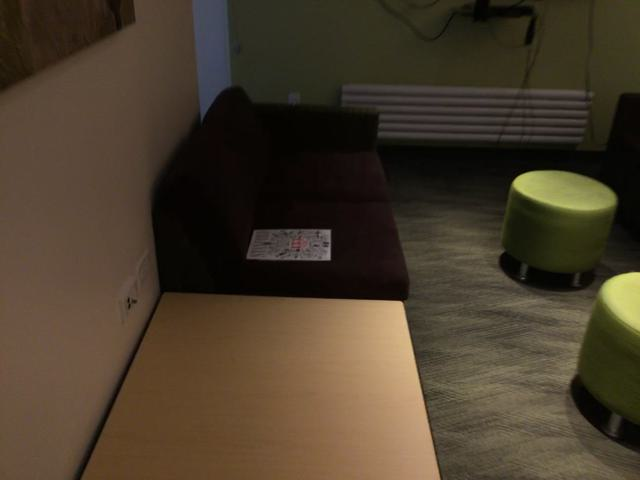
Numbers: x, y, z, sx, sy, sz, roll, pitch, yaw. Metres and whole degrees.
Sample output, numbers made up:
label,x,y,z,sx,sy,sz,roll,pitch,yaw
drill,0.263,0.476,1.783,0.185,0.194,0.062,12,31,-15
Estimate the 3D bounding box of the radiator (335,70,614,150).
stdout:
label,x,y,z,sx,sy,sz,roll,pitch,yaw
radiator,0.910,-0.800,3.570,1.620,0.430,0.140,1,30,2
